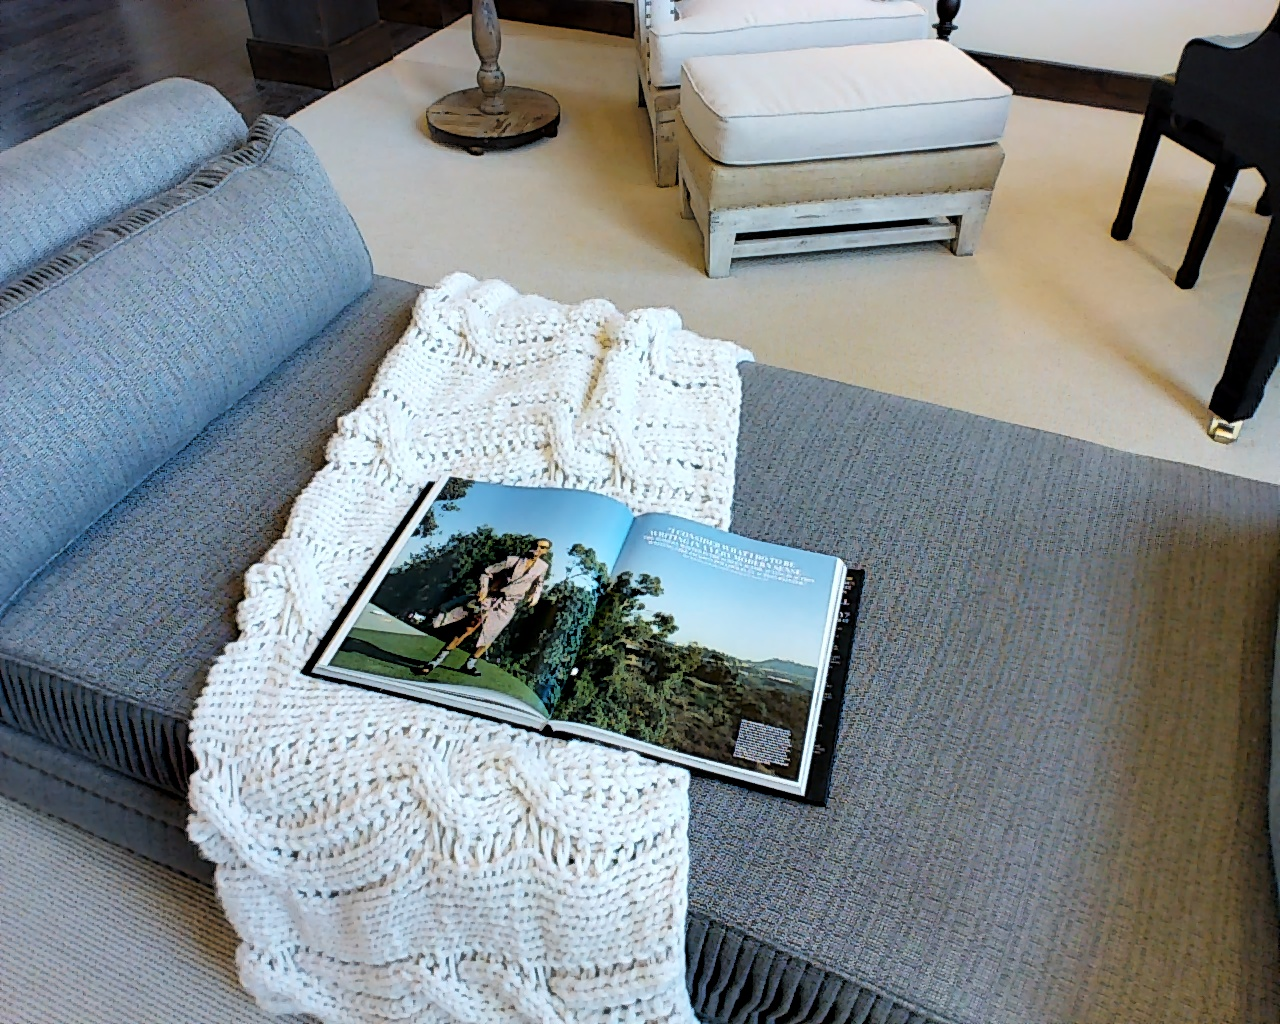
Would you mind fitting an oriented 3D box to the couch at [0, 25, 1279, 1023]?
[{"bbox_3d":[0.050,0.110,1.480,2.320,0.880,1.150,16,44,17],"label":"couch"}]
